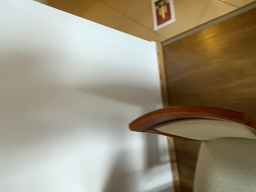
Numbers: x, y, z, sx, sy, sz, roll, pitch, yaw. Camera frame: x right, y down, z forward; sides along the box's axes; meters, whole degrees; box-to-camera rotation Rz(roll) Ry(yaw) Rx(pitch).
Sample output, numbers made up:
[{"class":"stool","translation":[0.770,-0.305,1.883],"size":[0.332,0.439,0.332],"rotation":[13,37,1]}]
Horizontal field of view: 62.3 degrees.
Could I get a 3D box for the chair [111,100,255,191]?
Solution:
[{"class":"chair","translation":[0.450,0.350,0.950],"size":[0.470,0.920,0.570],"rotation":[-14,78,42]}]
